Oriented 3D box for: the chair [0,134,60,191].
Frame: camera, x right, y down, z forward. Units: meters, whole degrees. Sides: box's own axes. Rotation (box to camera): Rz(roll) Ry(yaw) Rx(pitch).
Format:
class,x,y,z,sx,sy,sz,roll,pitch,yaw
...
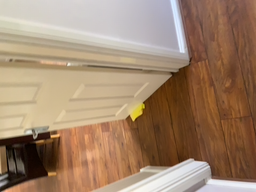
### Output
class,x,y,z,sx,sy,sz,roll,pitch,yaw
chair,-1.640,1.020,3.100,0.650,0.960,0.670,-23,75,44
